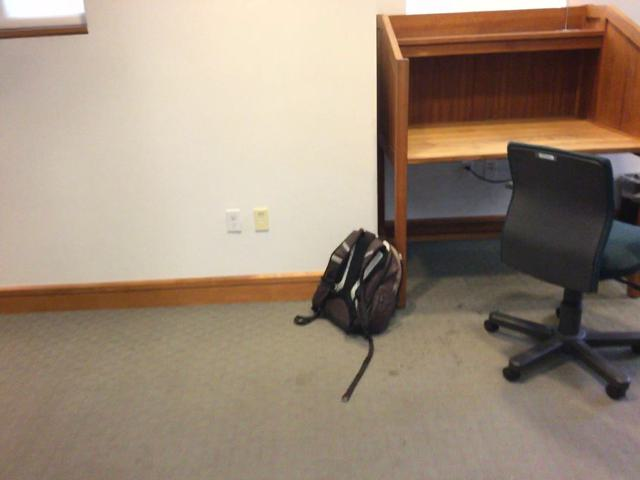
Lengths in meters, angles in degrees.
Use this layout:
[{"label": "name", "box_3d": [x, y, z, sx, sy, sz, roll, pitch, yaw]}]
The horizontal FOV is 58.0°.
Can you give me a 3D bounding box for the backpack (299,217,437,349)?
[{"label": "backpack", "box_3d": [0.210, 0.180, 2.730, 0.350, 0.420, 0.470, -4, 26, -36]}]
